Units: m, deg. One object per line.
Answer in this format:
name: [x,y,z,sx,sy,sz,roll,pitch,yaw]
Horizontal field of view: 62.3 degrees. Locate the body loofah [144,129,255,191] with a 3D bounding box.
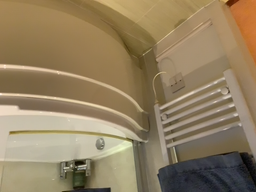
body loofah: [0.320,0.450,0.770,0.150,0.520,0.480,16,146,-39]
